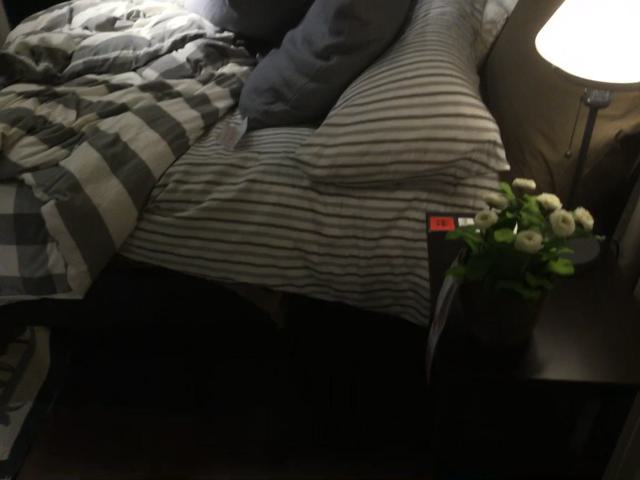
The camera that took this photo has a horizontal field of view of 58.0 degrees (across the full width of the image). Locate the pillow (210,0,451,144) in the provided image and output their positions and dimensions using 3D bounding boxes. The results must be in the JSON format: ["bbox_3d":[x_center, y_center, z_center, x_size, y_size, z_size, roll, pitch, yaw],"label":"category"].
[{"bbox_3d":[0.030,-0.590,1.690,0.560,0.370,0.600,-1,36,1],"label":"pillow"}]

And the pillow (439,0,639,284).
[{"bbox_3d":[0.590,-0.420,1.500,0.350,0.570,0.970,-1,36,1],"label":"pillow"}]
